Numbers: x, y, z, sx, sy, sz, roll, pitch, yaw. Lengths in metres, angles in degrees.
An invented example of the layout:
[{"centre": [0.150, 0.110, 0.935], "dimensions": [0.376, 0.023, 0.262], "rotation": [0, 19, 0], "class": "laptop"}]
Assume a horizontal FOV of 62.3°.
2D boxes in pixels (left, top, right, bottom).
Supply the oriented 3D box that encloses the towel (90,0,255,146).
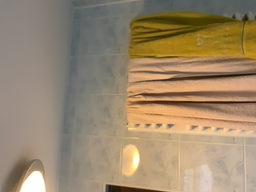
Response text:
[{"centre": [0.390, -0.110, 0.770], "dimensions": [0.260, 0.980, 0.550], "rotation": [32, -120, -72], "class": "towel"}]
